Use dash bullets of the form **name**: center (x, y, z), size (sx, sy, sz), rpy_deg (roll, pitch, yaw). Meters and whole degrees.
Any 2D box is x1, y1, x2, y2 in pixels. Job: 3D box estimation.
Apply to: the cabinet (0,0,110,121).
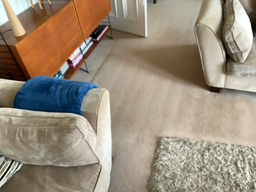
- **cabinet**: center (-0.670, -0.610, 2.200), size (0.370, 0.790, 1.550), rpy_deg (9, 45, 15)
